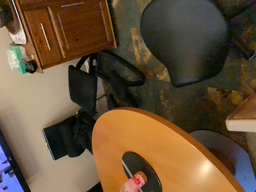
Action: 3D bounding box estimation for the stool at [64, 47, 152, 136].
[{"bbox_3d":[-0.210,-0.070,2.040,0.600,0.510,0.440,40,139,27],"label":"stool"}]

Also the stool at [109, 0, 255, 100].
[{"bbox_3d":[0.360,-0.350,1.120,0.540,0.560,0.550,-2,112,51],"label":"stool"}]

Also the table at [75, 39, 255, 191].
[{"bbox_3d":[0.460,0.730,1.570,1.340,0.820,1.820,29,134,36],"label":"table"}]
